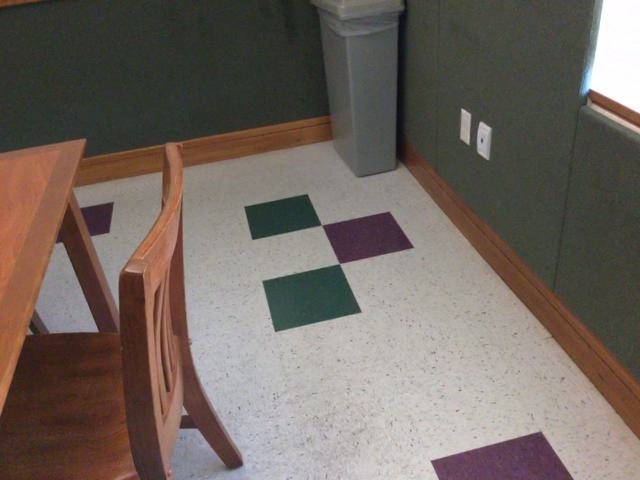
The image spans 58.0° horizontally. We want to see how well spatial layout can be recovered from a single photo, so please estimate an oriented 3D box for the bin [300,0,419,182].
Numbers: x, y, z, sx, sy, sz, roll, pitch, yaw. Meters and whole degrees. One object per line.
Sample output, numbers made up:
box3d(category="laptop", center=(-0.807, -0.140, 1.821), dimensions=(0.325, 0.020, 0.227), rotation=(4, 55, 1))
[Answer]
box3d(category="bin", center=(0.180, -0.810, 2.740), dimensions=(0.360, 0.850, 0.570), rotation=(-13, 34, -11))
